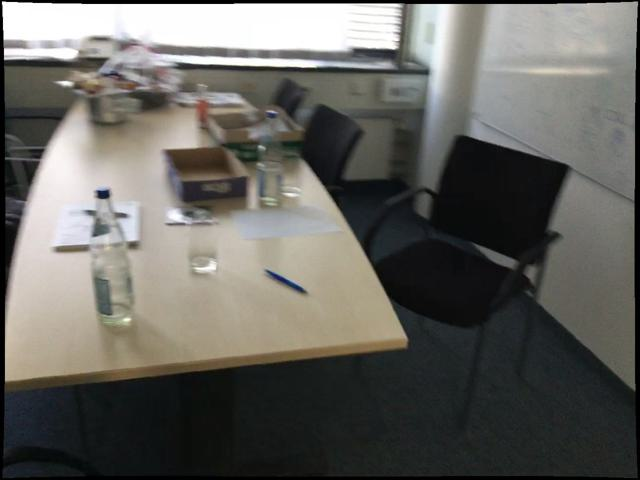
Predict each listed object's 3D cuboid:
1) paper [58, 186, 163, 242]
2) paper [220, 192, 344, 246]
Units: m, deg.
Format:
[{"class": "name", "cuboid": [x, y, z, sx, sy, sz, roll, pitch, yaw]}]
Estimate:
[{"class": "paper", "cuboid": [-0.589, -0.080, 1.650, 0.260, 0.030, 0.260, -6, 29, -15]}, {"class": "paper", "cuboid": [-0.120, -0.070, 1.730, 0.330, 0.040, 0.230, -5, 29, -14]}]
